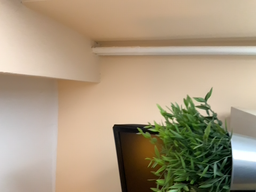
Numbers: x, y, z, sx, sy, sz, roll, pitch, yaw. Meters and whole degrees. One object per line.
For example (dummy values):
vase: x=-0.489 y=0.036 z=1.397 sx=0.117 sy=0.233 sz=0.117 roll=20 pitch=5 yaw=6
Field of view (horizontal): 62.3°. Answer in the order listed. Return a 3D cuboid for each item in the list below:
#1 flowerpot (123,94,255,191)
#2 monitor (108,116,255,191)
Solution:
flowerpot: x=0.140 y=0.320 z=0.460 sx=0.250 sy=0.240 sz=0.610 roll=-24 pitch=-63 yaw=-71
monitor: x=0.140 y=0.280 z=0.620 sx=0.030 sy=0.360 sz=0.460 roll=-56 pitch=-34 yaw=-59
